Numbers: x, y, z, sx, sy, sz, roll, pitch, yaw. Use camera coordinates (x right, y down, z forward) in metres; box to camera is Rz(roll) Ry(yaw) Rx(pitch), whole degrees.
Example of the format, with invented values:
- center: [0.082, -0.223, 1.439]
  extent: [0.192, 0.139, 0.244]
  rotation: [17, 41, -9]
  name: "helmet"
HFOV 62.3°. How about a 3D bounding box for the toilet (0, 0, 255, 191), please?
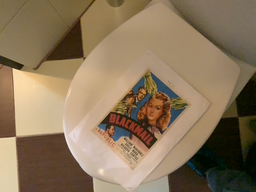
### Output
- center: [0.100, -0.060, 0.580]
  extent: [0.390, 0.780, 0.670]
  rotation: [41, 88, 3]
  name: "toilet"
